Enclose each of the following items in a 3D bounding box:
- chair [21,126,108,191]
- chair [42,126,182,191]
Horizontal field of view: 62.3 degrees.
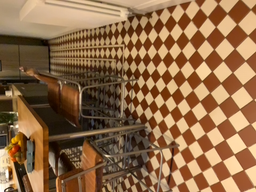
[{"bbox_3d":[-0.790,0.750,2.690,0.420,0.950,0.490,21,111,54],"label":"chair"},{"bbox_3d":[-0.120,0.580,1.670,0.490,0.950,0.420,22,111,53],"label":"chair"}]
